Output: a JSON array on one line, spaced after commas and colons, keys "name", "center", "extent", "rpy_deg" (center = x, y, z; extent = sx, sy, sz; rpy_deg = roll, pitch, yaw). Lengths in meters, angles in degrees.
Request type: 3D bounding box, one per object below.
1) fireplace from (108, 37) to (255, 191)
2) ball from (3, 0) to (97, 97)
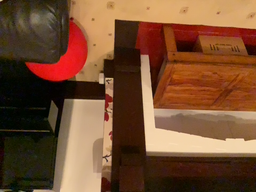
[{"name": "fireplace", "center": [0.780, 0.210, 1.720], "extent": [1.830, 1.170, 0.560], "rpy_deg": [2, 149, -5]}, {"name": "ball", "center": [-0.480, -0.320, 1.480], "extent": [0.380, 0.430, 0.490], "rpy_deg": [-5, 149, 6]}]
